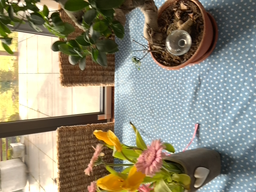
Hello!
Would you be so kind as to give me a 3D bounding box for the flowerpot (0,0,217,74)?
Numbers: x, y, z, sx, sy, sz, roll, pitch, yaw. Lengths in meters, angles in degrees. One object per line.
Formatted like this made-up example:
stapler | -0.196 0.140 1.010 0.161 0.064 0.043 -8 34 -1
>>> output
flowerpot | -0.030 -0.170 0.520 0.190 0.640 0.210 4 96 49
